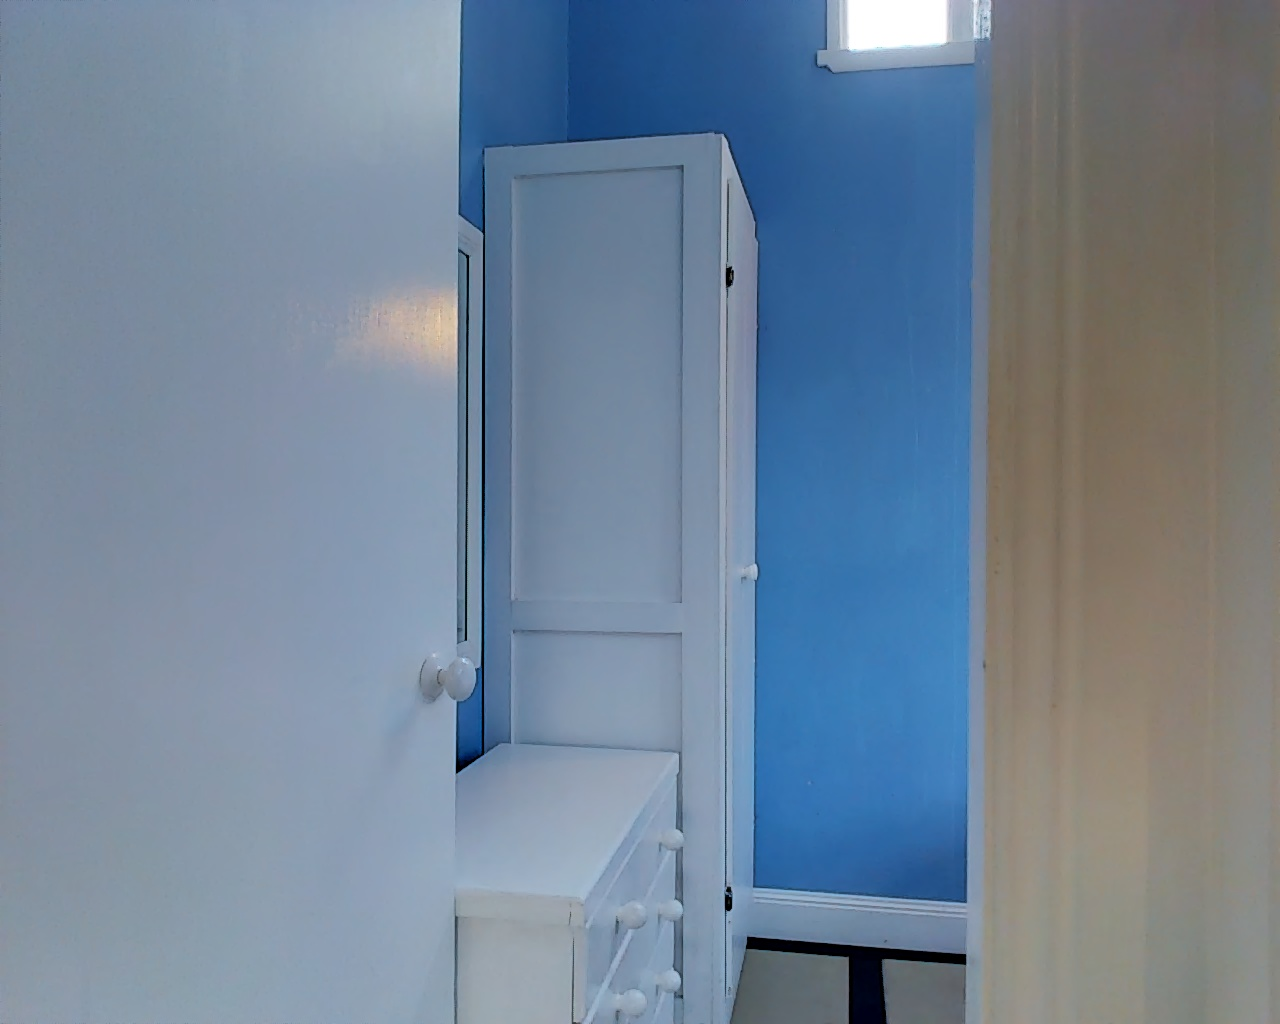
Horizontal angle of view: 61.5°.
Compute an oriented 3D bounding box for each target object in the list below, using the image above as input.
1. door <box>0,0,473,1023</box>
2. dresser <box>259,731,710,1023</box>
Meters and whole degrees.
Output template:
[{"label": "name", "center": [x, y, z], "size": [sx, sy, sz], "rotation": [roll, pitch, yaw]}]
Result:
[{"label": "door", "center": [-0.410, 0.230, 1.160], "size": [0.030, 2.051, 0.830], "rotation": [1, 1, 22]}, {"label": "dresser", "center": [-0.200, 0.880, 2.000], "size": [0.530, 0.720, 0.980], "rotation": [0, 1, 11]}]
